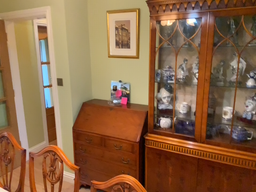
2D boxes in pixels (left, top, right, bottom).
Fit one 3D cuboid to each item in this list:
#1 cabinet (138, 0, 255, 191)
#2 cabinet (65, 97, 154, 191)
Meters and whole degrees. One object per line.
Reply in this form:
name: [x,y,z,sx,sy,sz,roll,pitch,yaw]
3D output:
cabinet: [0.630,0.160,1.870,1.010,1.980,0.400,6,15,27]
cabinet: [-0.190,0.570,2.380,0.840,0.960,0.460,6,15,27]
